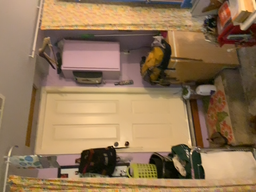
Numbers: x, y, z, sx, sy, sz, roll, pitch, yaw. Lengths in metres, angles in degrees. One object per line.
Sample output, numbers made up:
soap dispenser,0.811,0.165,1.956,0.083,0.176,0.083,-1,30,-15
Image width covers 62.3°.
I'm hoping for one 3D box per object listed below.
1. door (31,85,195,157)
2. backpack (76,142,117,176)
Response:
door,-0.170,0.320,2.980,0.070,2.140,0.980,107,163,-68
backpack,-0.380,0.780,2.640,0.260,0.470,0.330,99,170,-52
